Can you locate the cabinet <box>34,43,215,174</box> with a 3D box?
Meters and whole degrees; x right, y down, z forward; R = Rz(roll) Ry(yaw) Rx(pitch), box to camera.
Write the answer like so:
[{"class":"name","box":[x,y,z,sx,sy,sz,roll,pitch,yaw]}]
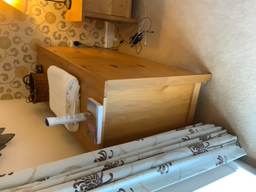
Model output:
[{"class":"cabinet","box":[-0.180,-0.080,1.790,1.370,0.850,0.530,28,116,51]}]
